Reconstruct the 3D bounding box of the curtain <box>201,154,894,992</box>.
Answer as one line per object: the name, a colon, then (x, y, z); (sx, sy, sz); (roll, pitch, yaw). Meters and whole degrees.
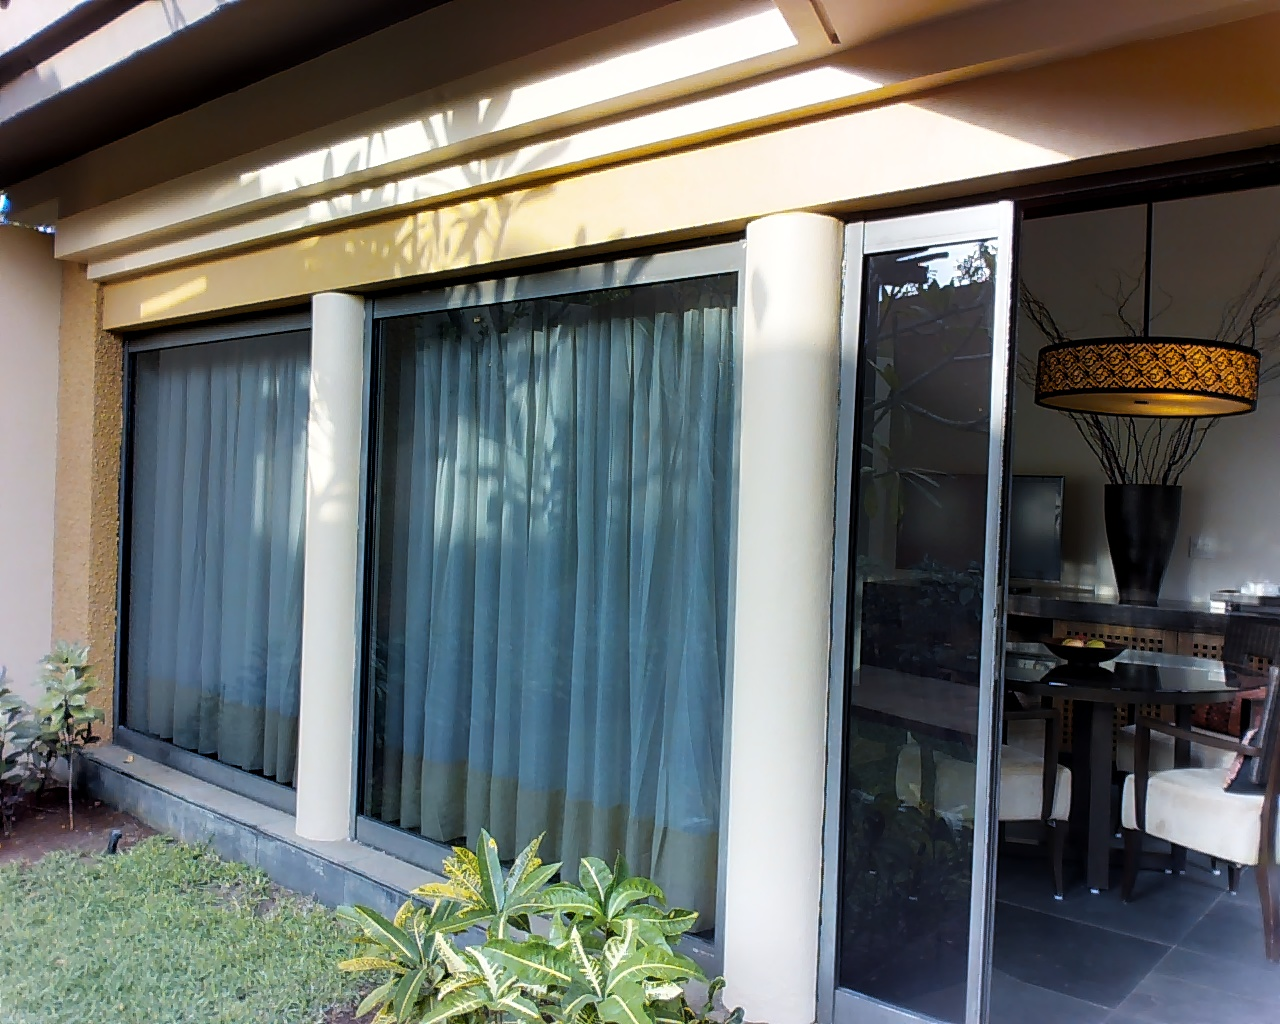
curtain: (-0.670, 0.110, 4.140); (3.329, 2.301, 0.320); (3, 1, 40)
